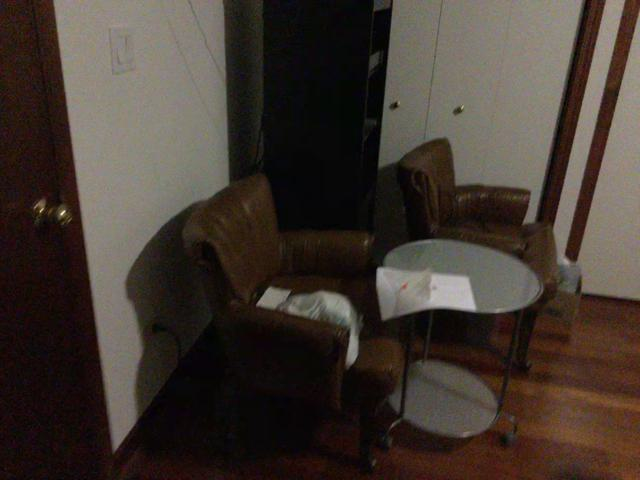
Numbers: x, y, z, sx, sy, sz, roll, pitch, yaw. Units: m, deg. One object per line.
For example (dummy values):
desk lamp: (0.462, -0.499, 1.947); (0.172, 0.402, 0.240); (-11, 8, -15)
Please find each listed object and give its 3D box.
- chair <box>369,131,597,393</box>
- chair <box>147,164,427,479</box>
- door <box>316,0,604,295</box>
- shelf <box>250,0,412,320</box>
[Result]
chair: (0.670, 0.030, 2.390); (0.710, 0.750, 0.710); (10, 25, 20)
chair: (-0.050, 0.250, 1.880); (0.660, 0.780, 0.680); (7, 24, 13)
door: (0.570, -0.580, 2.670); (1.160, 1.660, 0.120); (7, 24, 13)
shelf: (0.060, -0.500, 2.330); (0.490, 1.500, 0.550); (7, 24, 13)
